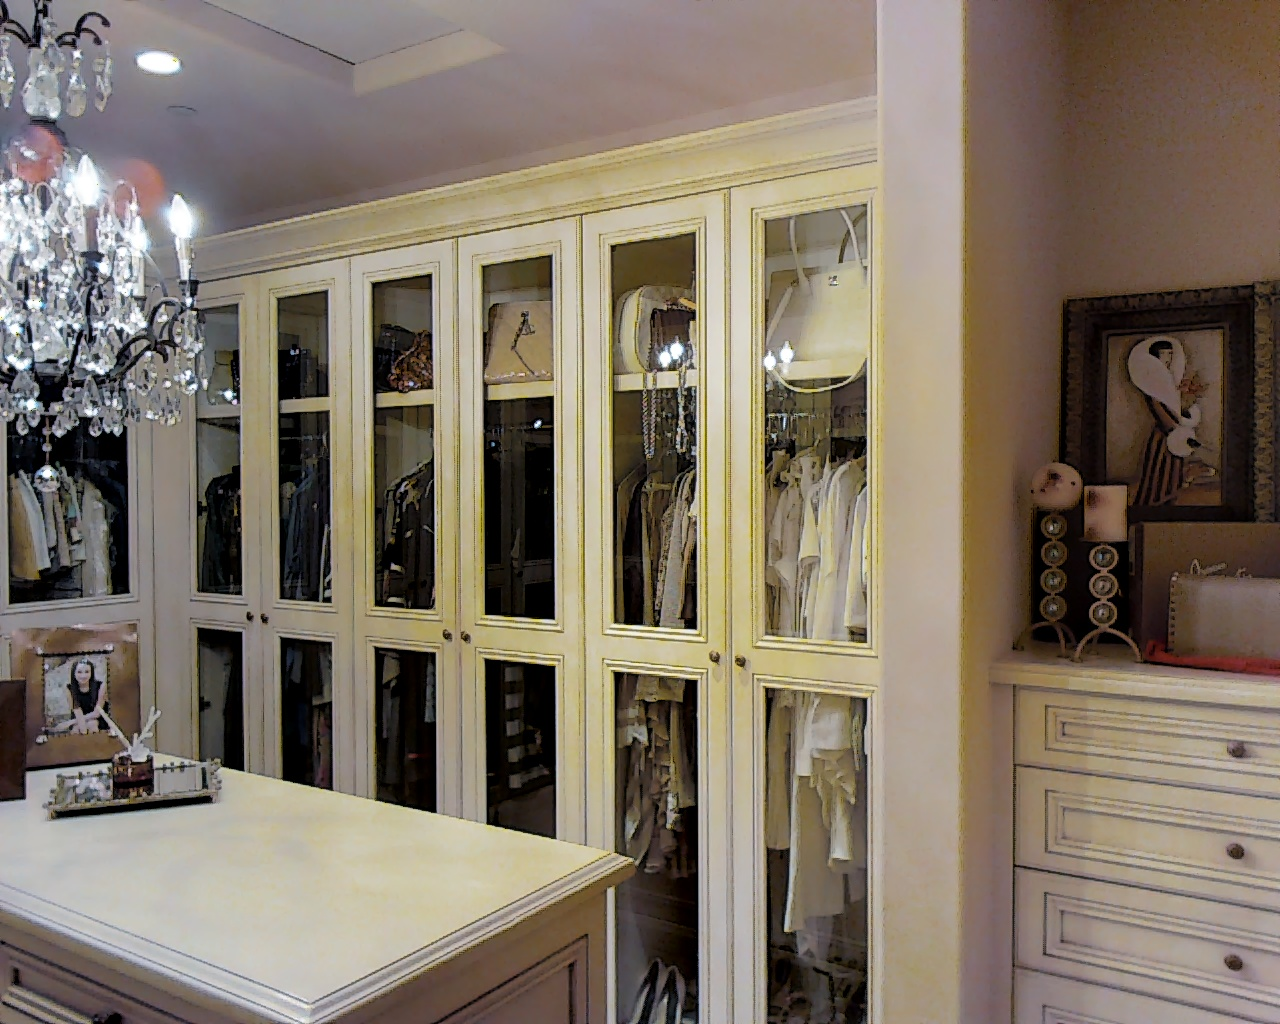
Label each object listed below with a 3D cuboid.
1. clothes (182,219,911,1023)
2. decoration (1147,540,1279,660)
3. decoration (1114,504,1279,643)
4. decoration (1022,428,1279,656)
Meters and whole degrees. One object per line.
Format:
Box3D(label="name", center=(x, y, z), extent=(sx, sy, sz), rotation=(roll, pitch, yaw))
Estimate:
Box3D(label="clothes", center=(-0.440, 0.330, 3.160), extent=(2.390, 1.940, 0.450), rotation=(1, 1, 35))
Box3D(label="decoration", center=(1.150, 0.160, 1.980), extent=(0.350, 0.200, 0.160), rotation=(1, 2, 45))
Box3D(label="decoration", center=(1.210, 0.120, 2.170), extent=(0.440, 0.270, 0.120), rotation=(0, 1, 12))
Box3D(label="decoration", center=(1.110, 0.050, 2.240), extent=(0.510, 0.420, 0.370), rotation=(1, 1, 34))
